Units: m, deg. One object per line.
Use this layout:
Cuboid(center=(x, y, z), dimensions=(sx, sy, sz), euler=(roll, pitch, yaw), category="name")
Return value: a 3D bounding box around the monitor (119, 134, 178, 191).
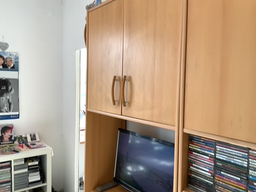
Cuboid(center=(0.110, 0.460, 1.410), dimensions=(0.030, 0.350, 0.520), euler=(-1, 0, -38), category="monitor")
